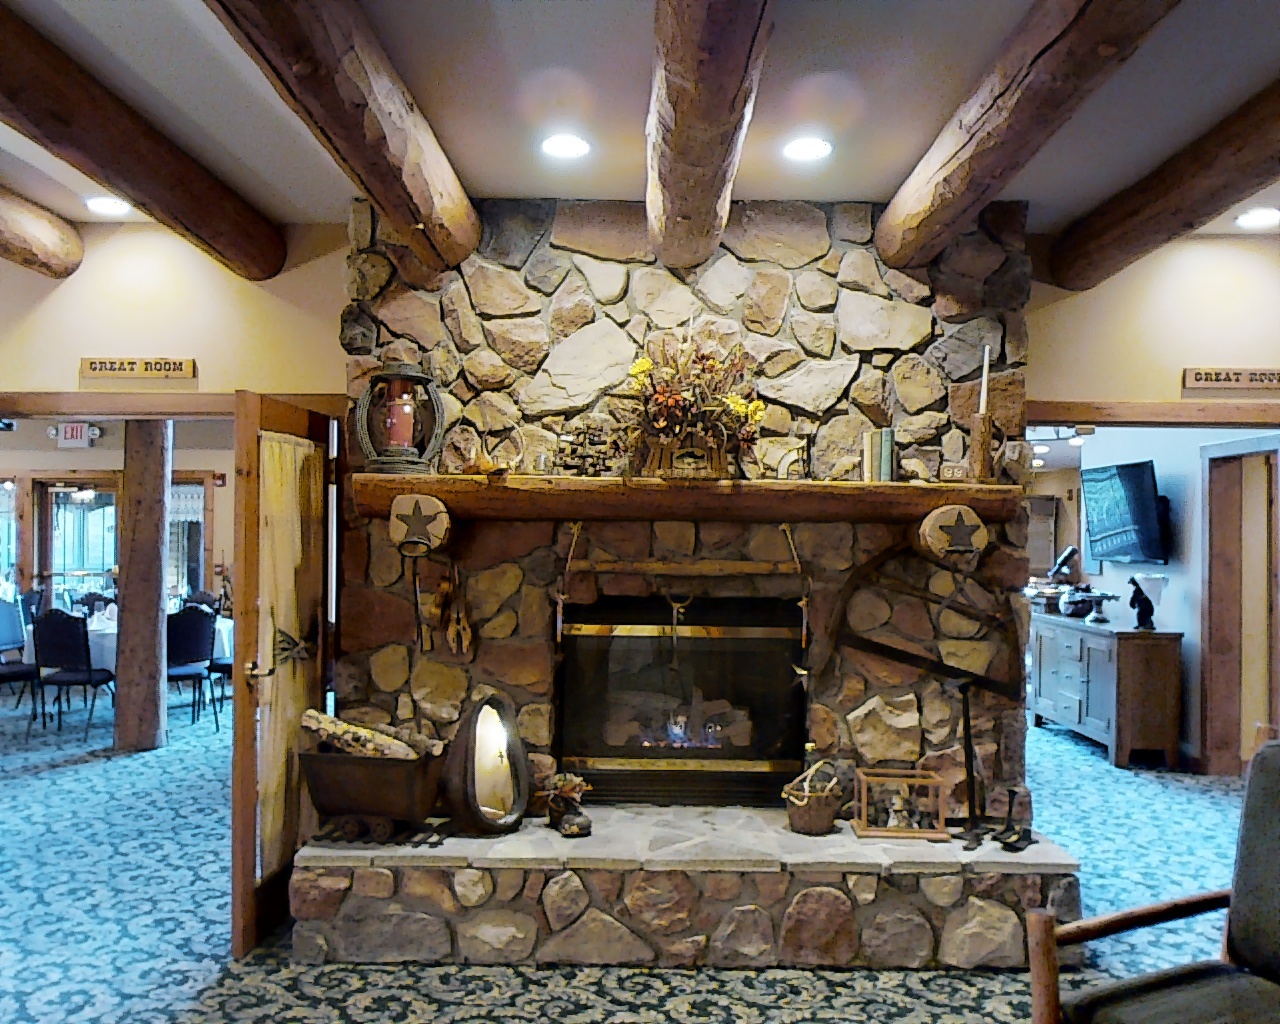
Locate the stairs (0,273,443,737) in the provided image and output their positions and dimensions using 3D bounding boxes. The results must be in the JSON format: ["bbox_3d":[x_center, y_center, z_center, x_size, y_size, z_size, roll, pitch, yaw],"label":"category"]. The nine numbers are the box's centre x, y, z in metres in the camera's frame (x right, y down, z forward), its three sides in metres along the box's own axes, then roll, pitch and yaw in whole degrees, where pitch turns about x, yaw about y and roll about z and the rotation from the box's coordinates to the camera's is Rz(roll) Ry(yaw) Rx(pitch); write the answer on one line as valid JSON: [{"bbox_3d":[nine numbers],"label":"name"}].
[{"bbox_3d":[-3.509,-0.030,9.520,2.819,3.221,4.080,0,-1,-1],"label":"stairs"}]
